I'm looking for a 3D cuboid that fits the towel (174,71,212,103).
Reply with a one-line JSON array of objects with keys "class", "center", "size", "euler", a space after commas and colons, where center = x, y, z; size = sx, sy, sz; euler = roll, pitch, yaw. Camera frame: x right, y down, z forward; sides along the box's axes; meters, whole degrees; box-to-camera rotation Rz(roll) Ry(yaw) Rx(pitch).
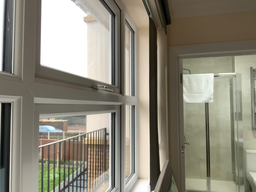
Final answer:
[{"class": "towel", "center": [1.040, -0.130, 3.410], "size": [0.560, 0.490, 0.170], "euler": [-1, -3, 14]}]
